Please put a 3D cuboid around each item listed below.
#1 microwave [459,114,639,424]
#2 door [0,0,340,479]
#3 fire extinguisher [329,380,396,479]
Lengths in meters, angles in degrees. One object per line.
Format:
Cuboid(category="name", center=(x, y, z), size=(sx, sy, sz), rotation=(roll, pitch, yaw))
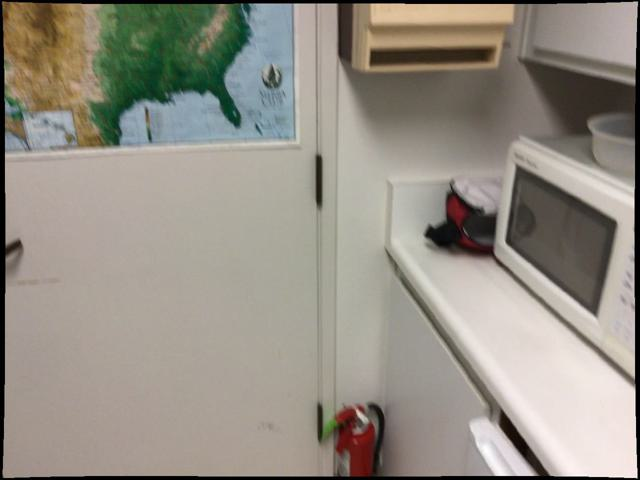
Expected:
Cuboid(category="microwave", center=(0.649, -0.010, 1.140), size=(0.490, 0.330, 0.620), rotation=(-3, 26, -10))
Cuboid(category="door", center=(-0.460, -0.090, 1.400), size=(0.979, 2.032, 0.100), rotation=(-3, 26, -10))
Cuboid(category="fire extinguisher", center=(0.120, 0.641, 1.750), size=(0.150, 0.410, 0.140), rotation=(-3, 26, -10))
